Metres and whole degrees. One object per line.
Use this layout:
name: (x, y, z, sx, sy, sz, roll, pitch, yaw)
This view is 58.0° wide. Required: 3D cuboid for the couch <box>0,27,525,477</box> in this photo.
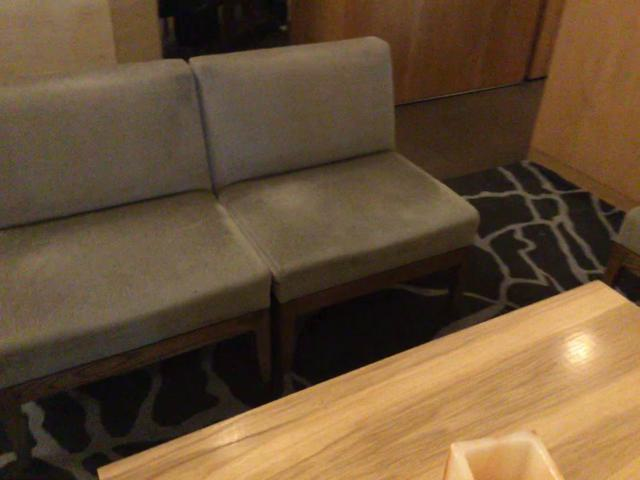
couch: (-0.280, -0.100, 1.790, 1.510, 0.840, 0.720, -13, 35, -24)
